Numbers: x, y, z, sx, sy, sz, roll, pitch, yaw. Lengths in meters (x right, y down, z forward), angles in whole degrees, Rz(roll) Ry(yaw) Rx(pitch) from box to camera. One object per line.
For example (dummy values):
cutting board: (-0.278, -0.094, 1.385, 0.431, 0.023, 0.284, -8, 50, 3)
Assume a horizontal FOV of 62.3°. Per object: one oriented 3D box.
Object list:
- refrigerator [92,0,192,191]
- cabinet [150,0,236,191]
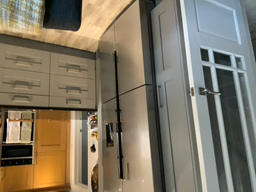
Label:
refrigerator: (0.030, 0.020, 2.150, 0.430, 1.800, 0.960, 6, 165, -32)
cabinet: (0.460, 0.060, 1.610, 0.290, 2.160, 0.370, 6, 165, -32)
